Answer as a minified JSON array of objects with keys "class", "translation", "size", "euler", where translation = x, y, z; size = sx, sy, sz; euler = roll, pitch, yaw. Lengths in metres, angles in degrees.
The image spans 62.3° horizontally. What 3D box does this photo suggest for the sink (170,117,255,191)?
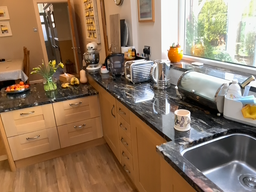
[{"class":"sink","translation":[0.550,0.360,1.030],"size":[0.550,0.270,0.390],"euler":[-11,21,-21]}]
